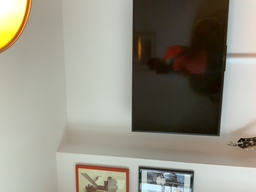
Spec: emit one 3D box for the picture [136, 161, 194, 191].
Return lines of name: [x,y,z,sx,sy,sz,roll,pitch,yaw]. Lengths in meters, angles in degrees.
picture: [0.270,0.680,1.610,0.030,0.420,0.340,-41,-48,-77]

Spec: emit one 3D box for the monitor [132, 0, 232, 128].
monitor: [0.360,-0.310,1.540,0.060,0.660,1.060,-37,-52,-75]
